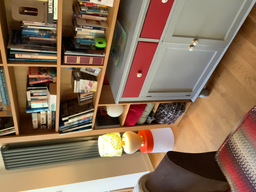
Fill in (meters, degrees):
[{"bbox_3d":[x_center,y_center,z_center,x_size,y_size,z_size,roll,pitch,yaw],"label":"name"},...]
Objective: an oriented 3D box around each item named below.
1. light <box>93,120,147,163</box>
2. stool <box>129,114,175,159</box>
[{"bbox_3d":[-0.110,0.540,2.550,0.330,0.520,0.310,-113,30,-41],"label":"light"},{"bbox_3d":[0.290,0.520,2.740,0.380,0.370,0.390,110,149,-42],"label":"stool"}]
